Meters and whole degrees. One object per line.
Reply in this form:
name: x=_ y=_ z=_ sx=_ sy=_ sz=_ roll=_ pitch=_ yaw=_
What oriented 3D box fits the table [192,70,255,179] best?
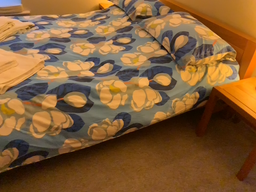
table: x=0.830 y=0.170 z=1.480 sx=0.460 sy=0.450 sz=0.470 roll=-14 pitch=41 yaw=-21
